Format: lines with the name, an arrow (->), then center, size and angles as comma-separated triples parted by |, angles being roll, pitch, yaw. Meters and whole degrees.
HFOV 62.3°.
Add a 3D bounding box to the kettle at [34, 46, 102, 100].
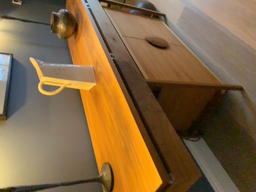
kettle -> -0.350, -0.120, 1.200 | 0.200, 0.320, 0.200 | 64, 142, 43
